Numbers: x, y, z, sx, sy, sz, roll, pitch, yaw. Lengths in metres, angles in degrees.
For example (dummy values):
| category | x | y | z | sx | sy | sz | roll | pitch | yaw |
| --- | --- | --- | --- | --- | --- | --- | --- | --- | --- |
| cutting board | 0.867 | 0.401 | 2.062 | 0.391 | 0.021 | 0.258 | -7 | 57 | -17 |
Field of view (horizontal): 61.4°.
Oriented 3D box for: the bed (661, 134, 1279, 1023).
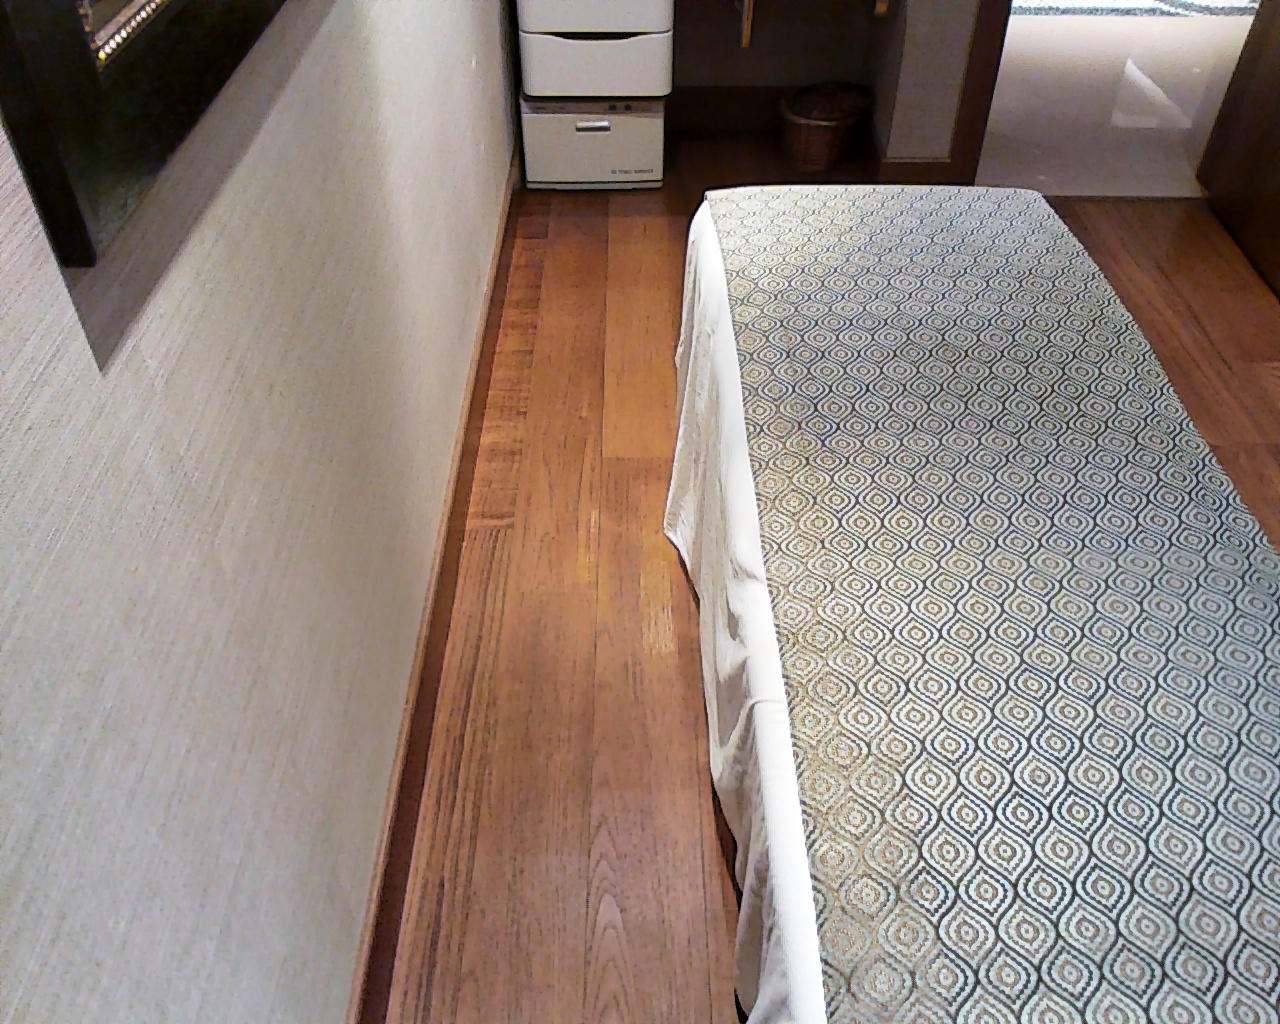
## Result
| category | x | y | z | sx | sy | sz | roll | pitch | yaw |
| --- | --- | --- | --- | --- | --- | --- | --- | --- | --- |
| bed | 0.480 | 0.230 | 1.640 | 0.830 | 0.710 | 2.160 | 0 | 43 | -1 |
